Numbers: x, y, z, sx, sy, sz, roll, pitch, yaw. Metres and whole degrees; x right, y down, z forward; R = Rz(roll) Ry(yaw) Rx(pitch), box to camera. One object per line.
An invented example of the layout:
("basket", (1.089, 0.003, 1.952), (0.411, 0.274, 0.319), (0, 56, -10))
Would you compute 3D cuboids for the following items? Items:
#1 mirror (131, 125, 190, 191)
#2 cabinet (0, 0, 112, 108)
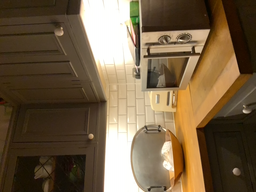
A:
("mirror", (0.210, 0.450, 1.480), (0.130, 0.360, 0.460), (86, -177, -66))
("cabinet", (-0.490, -0.230, 1.250), (0.940, 0.690, 0.260), (86, -177, -65))
